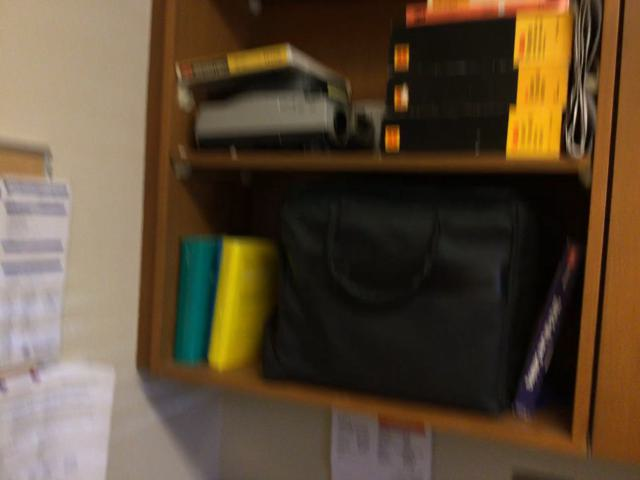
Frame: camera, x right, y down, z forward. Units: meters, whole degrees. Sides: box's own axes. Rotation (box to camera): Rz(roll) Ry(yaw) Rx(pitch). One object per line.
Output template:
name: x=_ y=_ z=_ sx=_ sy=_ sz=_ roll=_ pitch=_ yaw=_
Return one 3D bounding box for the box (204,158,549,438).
box: x=0.110 y=0.070 z=1.010 sx=0.510 sy=0.370 sz=0.310 roll=3 pitch=-1 yaw=25

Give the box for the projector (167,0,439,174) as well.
projector: x=-0.020 y=-0.270 z=1.080 sx=0.410 sy=0.250 sz=0.290 roll=3 pitch=-1 yaw=25
